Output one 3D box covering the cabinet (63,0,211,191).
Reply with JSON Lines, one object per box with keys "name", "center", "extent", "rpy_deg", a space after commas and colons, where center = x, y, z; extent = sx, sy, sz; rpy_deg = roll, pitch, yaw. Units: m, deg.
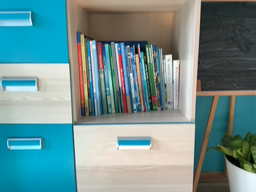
{"name": "cabinet", "center": [0.030, -0.370, 0.870], "extent": [0.470, 1.880, 0.410], "rpy_deg": [0, 12, 0]}
